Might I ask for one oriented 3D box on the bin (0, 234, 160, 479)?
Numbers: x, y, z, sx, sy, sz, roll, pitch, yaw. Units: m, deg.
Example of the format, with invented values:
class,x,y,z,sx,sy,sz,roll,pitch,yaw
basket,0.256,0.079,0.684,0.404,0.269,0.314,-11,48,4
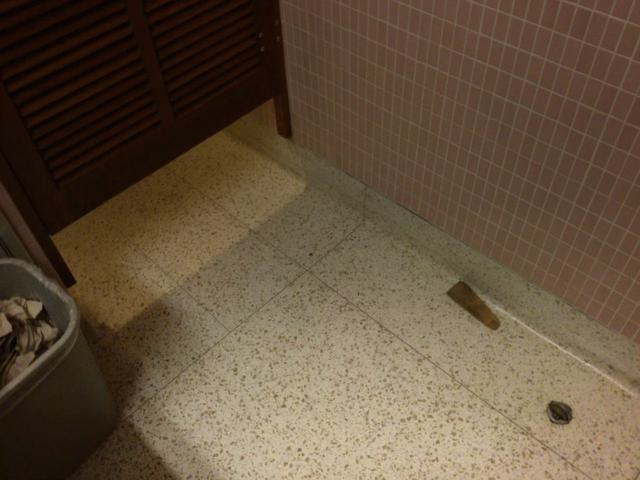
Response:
class,x,y,z,sx,sy,sz,roll,pitch,yaw
bin,-0.590,0.300,1.080,0.290,0.400,0.380,35,58,30
